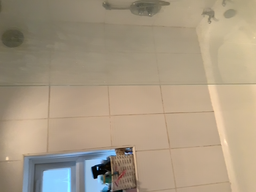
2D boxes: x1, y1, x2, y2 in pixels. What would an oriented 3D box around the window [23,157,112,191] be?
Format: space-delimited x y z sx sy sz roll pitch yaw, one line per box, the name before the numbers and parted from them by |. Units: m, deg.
window | -0.400 0.690 1.440 0.030 0.580 0.490 124 144 -66
